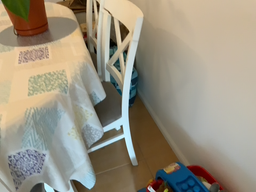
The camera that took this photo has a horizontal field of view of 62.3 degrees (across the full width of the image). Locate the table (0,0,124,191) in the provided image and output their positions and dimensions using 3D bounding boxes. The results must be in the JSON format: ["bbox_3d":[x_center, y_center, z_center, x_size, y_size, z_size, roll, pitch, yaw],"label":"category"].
[{"bbox_3d":[-0.710,0.020,1.230,1.010,0.770,1.460,-12,39,-12],"label":"table"}]

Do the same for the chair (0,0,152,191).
[{"bbox_3d":[-0.210,0.000,1.130,0.510,0.900,0.430,-15,39,-15],"label":"chair"}]
